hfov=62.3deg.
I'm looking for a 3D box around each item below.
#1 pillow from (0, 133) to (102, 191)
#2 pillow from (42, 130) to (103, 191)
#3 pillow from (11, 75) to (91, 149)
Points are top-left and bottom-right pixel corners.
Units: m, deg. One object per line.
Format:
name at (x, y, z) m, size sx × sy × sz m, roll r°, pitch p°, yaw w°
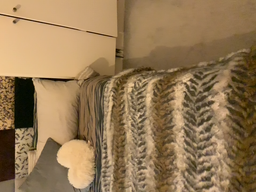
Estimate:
pillow at (-0.620, 0.730, 1.800) m, size 0.620 × 0.560 × 0.280 m, roll -23°, pitch 15°, yaw -3°
pillow at (-0.420, 0.540, 1.710) m, size 0.170 × 0.310 × 0.400 m, roll -27°, pitch 21°, yaw 28°
pillow at (-0.660, 0.130, 1.860) m, size 0.480 × 0.410 × 0.190 m, roll -49°, pitch 27°, yaw -21°
